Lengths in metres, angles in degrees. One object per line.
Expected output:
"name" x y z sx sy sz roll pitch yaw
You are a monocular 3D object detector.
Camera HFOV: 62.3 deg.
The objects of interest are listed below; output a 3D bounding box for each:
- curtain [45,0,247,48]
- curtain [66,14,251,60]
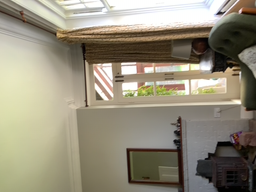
"curtain" 0.180 -0.870 2.640 0.650 2.190 0.270 -27 -66 -82
"curtain" 0.410 -0.900 3.390 0.390 2.750 0.450 -28 -65 -82
